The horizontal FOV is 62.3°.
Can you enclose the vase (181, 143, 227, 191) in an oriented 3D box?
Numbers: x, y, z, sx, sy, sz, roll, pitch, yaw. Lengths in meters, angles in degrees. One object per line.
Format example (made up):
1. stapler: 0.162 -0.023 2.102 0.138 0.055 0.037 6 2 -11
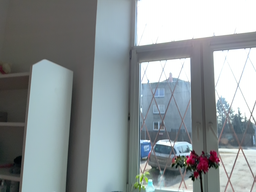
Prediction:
1. vase: 0.570 0.670 1.610 0.300 0.590 0.200 -2 -10 17
